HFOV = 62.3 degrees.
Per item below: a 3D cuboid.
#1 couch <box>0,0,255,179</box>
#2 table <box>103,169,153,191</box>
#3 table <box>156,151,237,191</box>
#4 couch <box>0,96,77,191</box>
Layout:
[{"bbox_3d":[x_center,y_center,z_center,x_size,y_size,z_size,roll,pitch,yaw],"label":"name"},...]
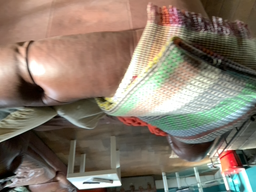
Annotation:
[{"bbox_3d":[-0.320,-0.090,1.160,1.430,0.720,0.970,-6,146,1],"label":"couch"},{"bbox_3d":[-0.020,1.760,4.220,0.910,0.380,0.560,-3,146,-4],"label":"table"},{"bbox_3d":[1.190,1.480,3.830,1.160,0.540,0.570,-29,140,30],"label":"table"},{"bbox_3d":[-1.400,0.980,2.560,1.030,0.740,2.260,-5,146,-1],"label":"couch"}]
